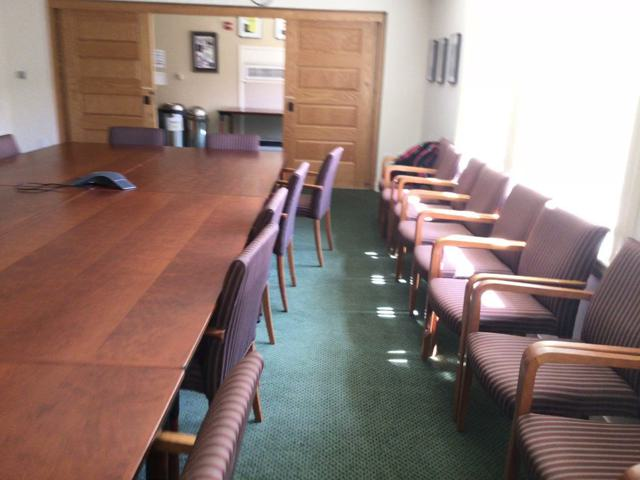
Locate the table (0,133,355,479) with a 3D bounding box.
[{"bbox_3d":[-1.200,0.390,1.830,2.130,0.830,5.470,6,16,7],"label":"table"}]

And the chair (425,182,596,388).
[{"bbox_3d":[0.890,0.190,2.890,0.610,0.830,0.570,5,16,7],"label":"chair"}]

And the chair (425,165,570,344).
[{"bbox_3d":[0.980,0.050,3.370,0.610,0.850,0.620,5,16,7],"label":"chair"}]

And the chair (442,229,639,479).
[{"bbox_3d":[0.810,0.480,1.870,0.680,0.820,0.720,5,16,7],"label":"chair"}]

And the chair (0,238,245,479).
[{"bbox_3d":[-0.590,0.510,1.470,0.650,0.860,0.550,5,16,7],"label":"chair"}]

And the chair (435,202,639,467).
[{"bbox_3d":[0.830,0.340,2.400,0.570,0.840,0.640,5,16,7],"label":"chair"}]

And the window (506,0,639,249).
[{"bbox_3d":[1.310,-0.890,2.660,0.240,1.340,2.690,5,16,7],"label":"window"}]
